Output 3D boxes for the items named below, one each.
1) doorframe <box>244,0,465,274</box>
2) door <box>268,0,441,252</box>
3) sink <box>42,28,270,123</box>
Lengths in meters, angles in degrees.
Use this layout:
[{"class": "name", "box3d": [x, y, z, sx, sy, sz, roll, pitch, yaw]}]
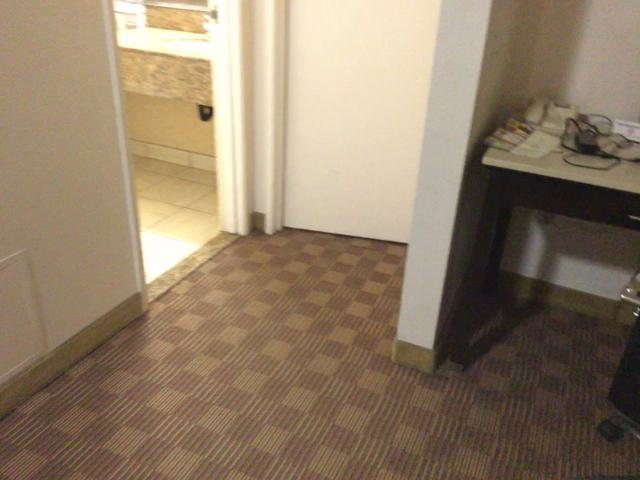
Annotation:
[{"class": "doorframe", "box3d": [0.120, -0.810, 2.380, 0.840, 1.880, 0.130, 17, 30, 18]}, {"class": "door", "box3d": [0.160, -0.860, 2.460, 0.630, 1.890, 0.110, 12, 28, 9]}, {"class": "sink", "box3d": [-0.810, -0.870, 2.960, 0.940, 0.310, 0.580, 12, 25, 19]}]
